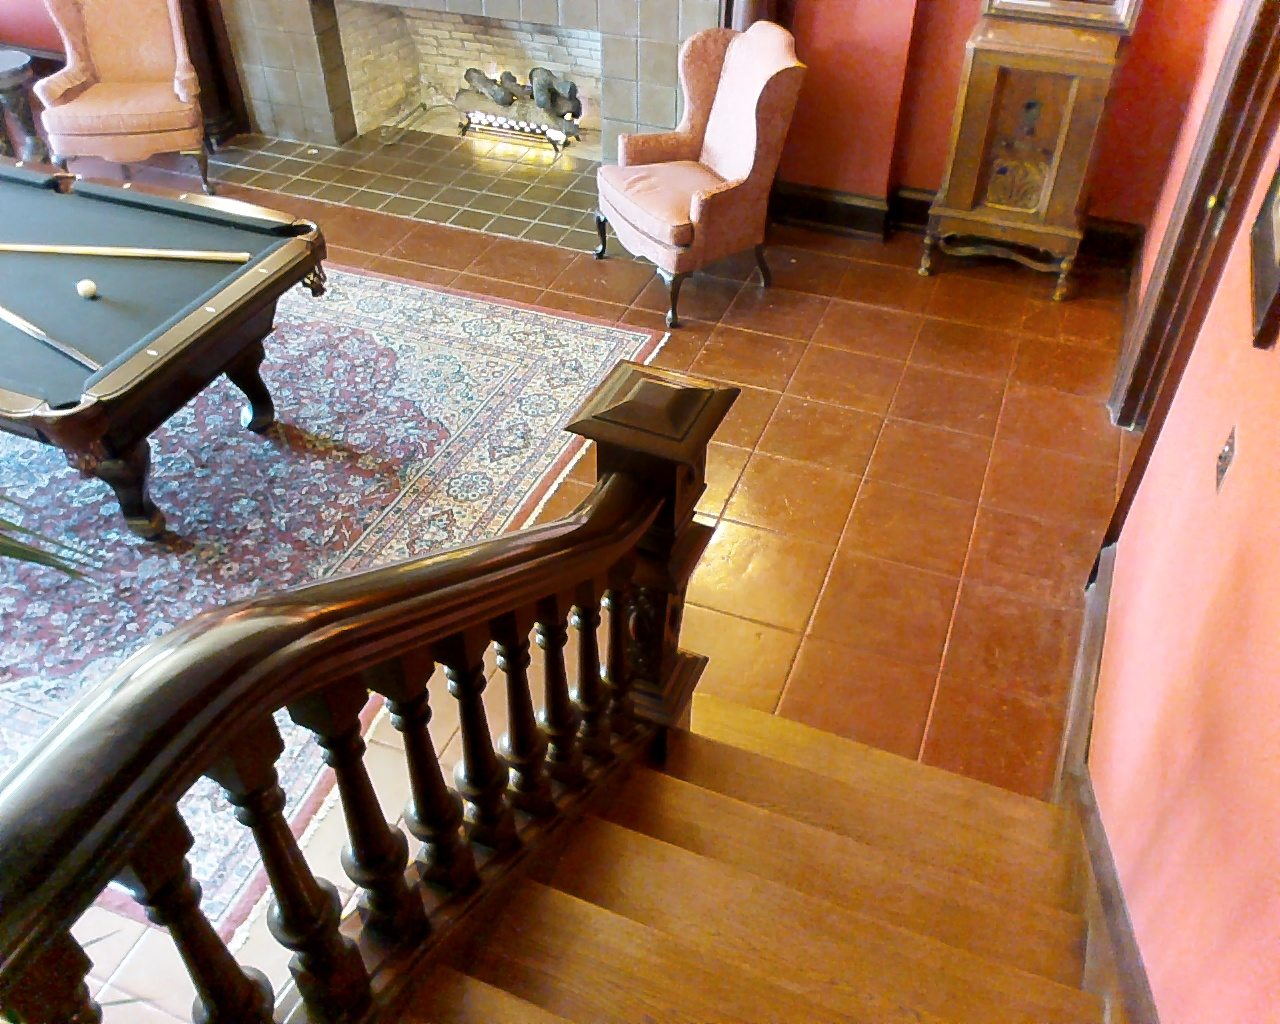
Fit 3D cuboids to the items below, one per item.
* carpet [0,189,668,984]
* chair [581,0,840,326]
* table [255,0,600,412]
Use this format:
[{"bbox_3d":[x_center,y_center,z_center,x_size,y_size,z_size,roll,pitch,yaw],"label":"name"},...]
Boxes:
[{"bbox_3d":[-2.490,-0.360,4.390,4.370,0.050,3.300,14,43,15],"label":"carpet"},{"bbox_3d":[0.290,-1.650,5.030,0.810,1.120,0.830,-19,45,-20],"label":"chair"},{"bbox_3d":[-1.000,-2.860,5.630,0.800,4.050,2.160,14,37,16],"label":"table"}]
